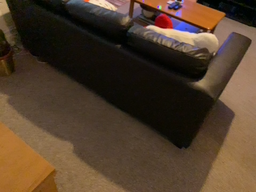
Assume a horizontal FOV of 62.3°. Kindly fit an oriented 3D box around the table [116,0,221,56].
[{"bbox_3d":[0.460,-0.980,2.580,1.070,0.390,0.530,30,50,19],"label":"table"}]
